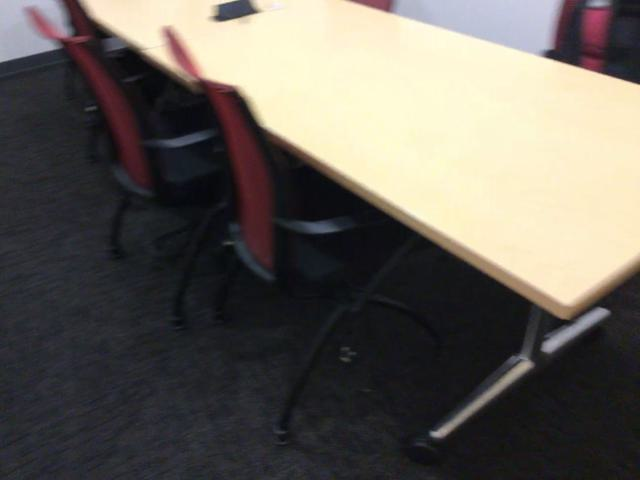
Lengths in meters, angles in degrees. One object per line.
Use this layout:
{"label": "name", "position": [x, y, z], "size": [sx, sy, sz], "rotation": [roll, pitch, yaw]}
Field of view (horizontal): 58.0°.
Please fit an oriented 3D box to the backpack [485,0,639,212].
{"label": "backpack", "position": [0.750, -0.430, 1.520], "size": [0.360, 0.470, 0.440], "rotation": [-26, 42, -25]}
